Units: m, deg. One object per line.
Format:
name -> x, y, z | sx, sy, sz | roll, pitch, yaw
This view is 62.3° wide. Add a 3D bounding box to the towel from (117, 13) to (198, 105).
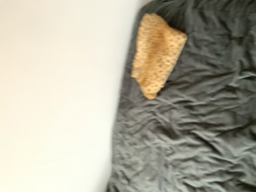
towel -> 0.140, -0.220, 1.210 | 0.360, 0.160, 0.430 | 35, 116, 51
